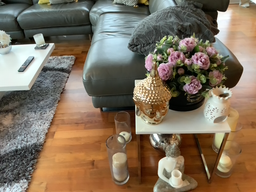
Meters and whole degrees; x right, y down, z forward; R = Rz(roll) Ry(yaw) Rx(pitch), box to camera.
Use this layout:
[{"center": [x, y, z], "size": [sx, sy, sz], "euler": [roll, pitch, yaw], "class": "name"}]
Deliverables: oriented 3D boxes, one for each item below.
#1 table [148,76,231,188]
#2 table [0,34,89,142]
[{"center": [0.290, 0.200, 1.200], "size": [0.300, 0.460, 0.400], "euler": [-4, 38, -1], "class": "table"}, {"center": [-1.330, 0.060, 1.620], "size": [0.980, 0.290, 1.790], "euler": [29, 49, 34], "class": "table"}]
